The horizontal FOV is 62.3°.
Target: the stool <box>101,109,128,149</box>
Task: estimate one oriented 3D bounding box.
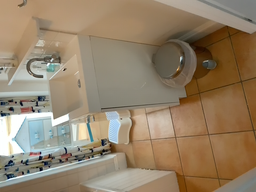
[{"bbox_3d":[-0.150,0.350,2.290,0.240,0.130,0.340,26,113,46],"label":"stool"}]
